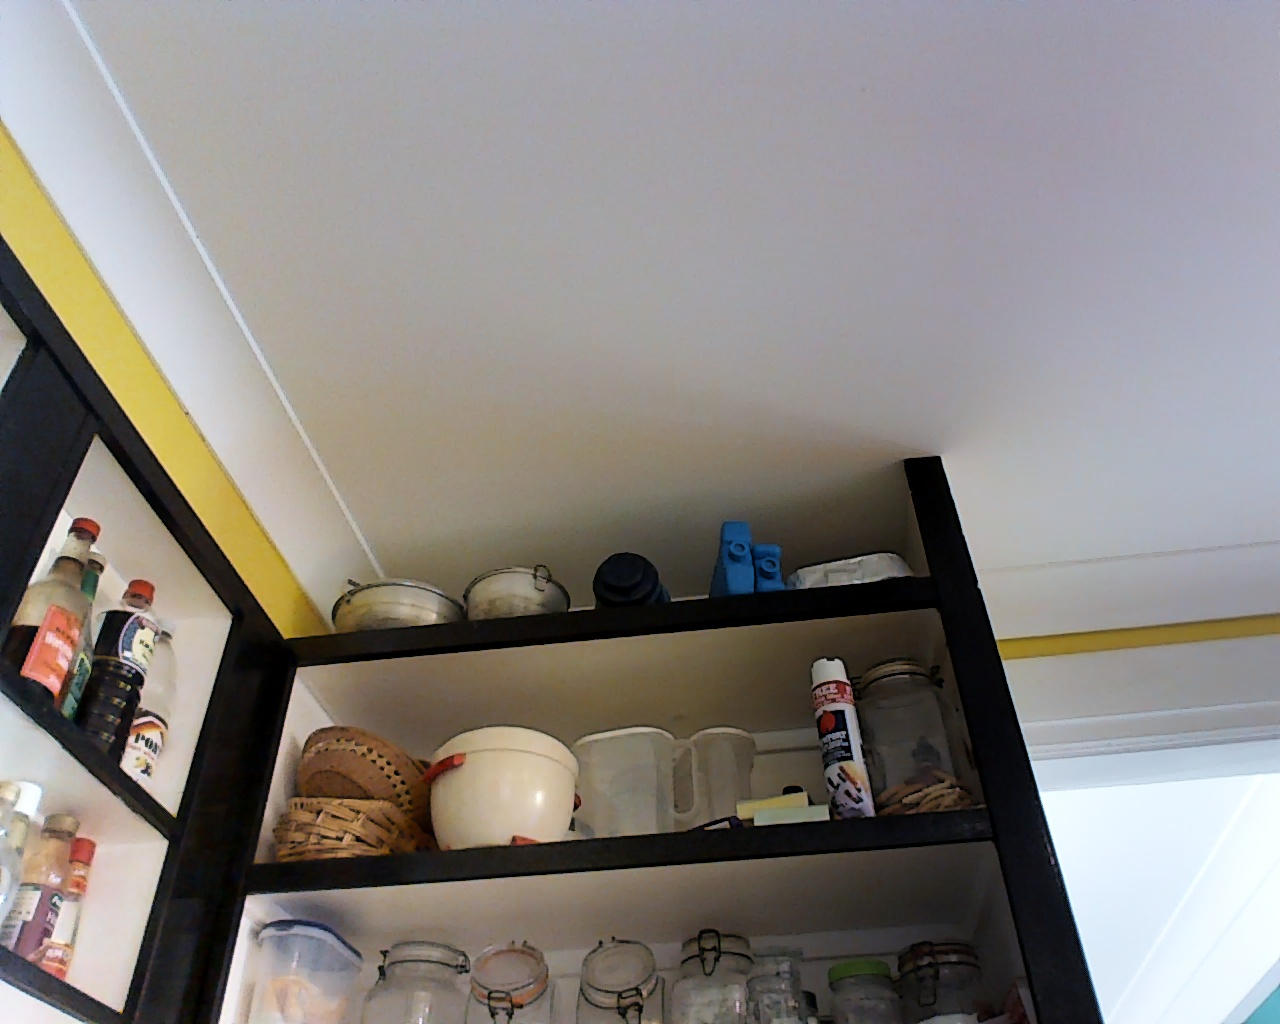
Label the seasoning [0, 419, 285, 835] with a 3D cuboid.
[{"bbox_3d":[-0.590,0.140,1.230,0.160,0.310,0.360,-7,-42,7],"label":"seasoning"}]

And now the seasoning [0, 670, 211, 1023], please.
[{"bbox_3d":[-0.600,0.350,1.060,0.130,0.200,0.380,-7,-42,7],"label":"seasoning"}]
